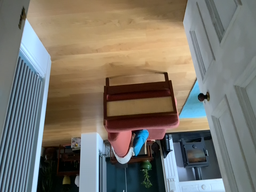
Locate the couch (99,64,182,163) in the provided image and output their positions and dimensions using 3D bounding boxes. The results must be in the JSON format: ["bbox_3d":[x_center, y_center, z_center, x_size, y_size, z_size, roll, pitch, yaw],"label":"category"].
[{"bbox_3d":[0.120,0.360,2.860,0.780,0.770,1.540,-5,154,0],"label":"couch"}]
